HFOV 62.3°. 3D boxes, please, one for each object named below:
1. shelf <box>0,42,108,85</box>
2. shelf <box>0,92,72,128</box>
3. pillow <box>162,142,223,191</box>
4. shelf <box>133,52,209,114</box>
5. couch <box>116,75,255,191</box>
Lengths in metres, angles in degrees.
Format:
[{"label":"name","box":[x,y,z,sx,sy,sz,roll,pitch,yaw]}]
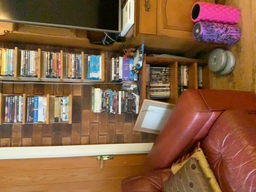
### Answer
[{"label":"shelf","box":[-0.580,-0.240,1.640,0.150,0.830,0.250,170,101,-73]},{"label":"shelf","box":[-0.850,0.100,1.550,0.150,0.840,0.250,170,101,-73]},{"label":"pillow","box":[0.400,0.610,1.230,0.320,0.140,0.590,109,156,-45]},{"label":"shelf","box":[0.370,-0.090,1.870,0.260,0.600,0.480,170,101,-73]},{"label":"couch","box":[0.460,0.650,1.230,0.990,0.730,1.140,109,156,-45]}]
